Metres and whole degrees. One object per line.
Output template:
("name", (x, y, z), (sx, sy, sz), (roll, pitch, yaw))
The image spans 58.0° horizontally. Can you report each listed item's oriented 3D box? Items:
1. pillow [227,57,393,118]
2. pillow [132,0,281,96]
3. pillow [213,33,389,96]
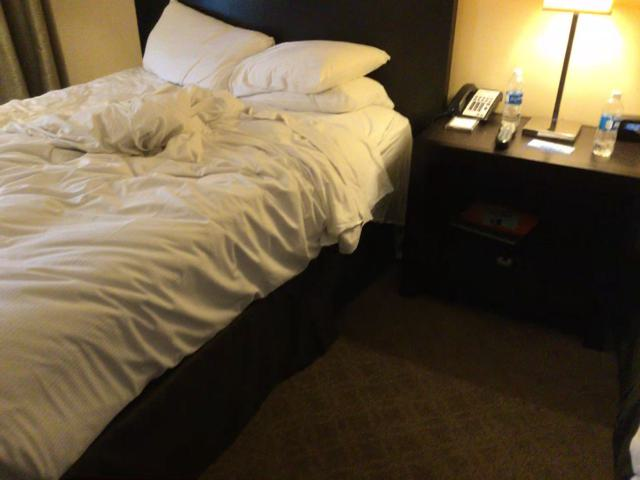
("pillow", (-0.040, -0.650, 2.410), (0.570, 0.110, 0.380), (16, 31, 25))
("pillow", (-0.520, -0.920, 2.630), (0.660, 0.360, 0.300), (23, 35, 36))
("pillow", (-0.070, -0.730, 2.360), (0.570, 0.120, 0.430), (16, 31, 25))
